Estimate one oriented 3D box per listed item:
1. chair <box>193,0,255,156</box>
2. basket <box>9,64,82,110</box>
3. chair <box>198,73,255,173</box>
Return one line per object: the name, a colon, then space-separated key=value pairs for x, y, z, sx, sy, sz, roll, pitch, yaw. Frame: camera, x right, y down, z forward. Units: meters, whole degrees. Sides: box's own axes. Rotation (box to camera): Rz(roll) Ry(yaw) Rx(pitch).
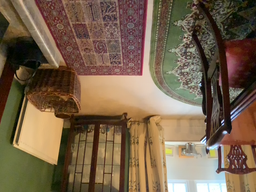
chair: x=0.810 y=-0.150 z=1.420 sx=0.540 sy=0.970 sz=0.560 roll=-4 pitch=154 yaw=9
basket: x=-0.880 y=-0.080 z=2.390 sx=0.570 sy=0.280 sz=0.570 roll=0 pitch=154 yaw=1
chair: x=1.230 y=0.330 z=2.410 sx=0.590 sy=0.970 sz=0.620 roll=-2 pitch=154 yaw=5
